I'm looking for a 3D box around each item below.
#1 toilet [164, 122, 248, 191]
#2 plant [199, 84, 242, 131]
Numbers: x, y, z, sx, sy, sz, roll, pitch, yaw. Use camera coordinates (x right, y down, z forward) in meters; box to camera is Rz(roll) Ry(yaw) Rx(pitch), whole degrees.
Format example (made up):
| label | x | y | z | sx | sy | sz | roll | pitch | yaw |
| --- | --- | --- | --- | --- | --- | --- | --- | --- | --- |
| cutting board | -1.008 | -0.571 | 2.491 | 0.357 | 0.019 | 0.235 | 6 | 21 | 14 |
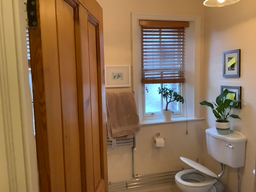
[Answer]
| label | x | y | z | sx | sy | sz | roll | pitch | yaw |
| --- | --- | --- | --- | --- | --- | --- | --- | --- | --- |
| toilet | 0.870 | 0.820 | 2.470 | 0.730 | 0.890 | 0.510 | -3 | 7 | -15 |
| plant | 1.080 | 0.110 | 2.510 | 0.220 | 0.480 | 0.440 | -3 | 7 | -16 |
